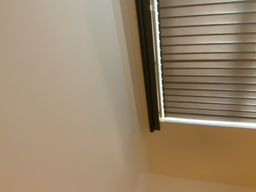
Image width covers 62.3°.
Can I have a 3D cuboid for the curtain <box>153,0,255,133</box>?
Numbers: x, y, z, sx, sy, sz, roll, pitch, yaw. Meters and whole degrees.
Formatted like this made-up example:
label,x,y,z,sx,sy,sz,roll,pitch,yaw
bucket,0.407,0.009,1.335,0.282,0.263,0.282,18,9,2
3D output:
label,x,y,z,sx,sy,sz,roll,pitch,yaw
curtain,0.820,-0.460,1.610,0.040,1.230,1.840,-61,-31,-53
